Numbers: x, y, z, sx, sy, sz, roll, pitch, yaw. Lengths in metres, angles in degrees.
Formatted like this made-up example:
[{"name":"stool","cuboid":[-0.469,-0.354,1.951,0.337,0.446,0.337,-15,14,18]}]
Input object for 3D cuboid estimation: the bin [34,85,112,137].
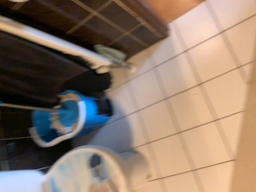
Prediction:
[{"name":"bin","cuboid":[-0.360,0.110,1.400,0.370,0.300,0.220,-20,76,27]}]
